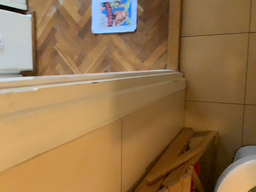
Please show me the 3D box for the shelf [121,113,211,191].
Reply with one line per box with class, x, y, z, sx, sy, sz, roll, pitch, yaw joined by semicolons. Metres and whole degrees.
shelf;0.190;0.340;0.810;0.110;0.930;0.350;9;102;25
